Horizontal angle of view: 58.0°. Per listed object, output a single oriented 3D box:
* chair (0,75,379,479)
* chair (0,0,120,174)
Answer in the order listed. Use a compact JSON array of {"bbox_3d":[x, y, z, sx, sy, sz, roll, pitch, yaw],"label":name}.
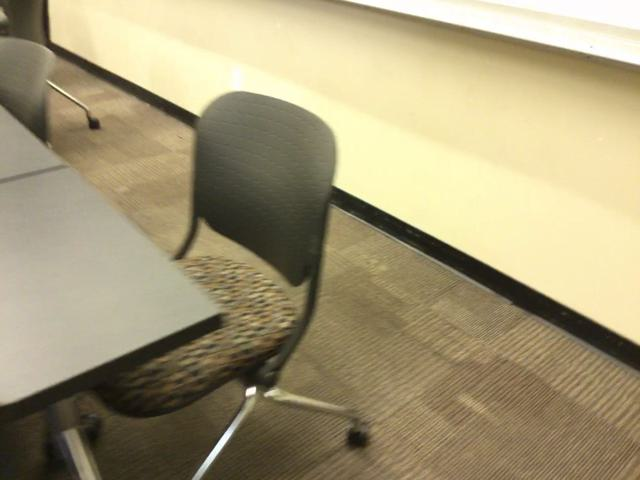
[{"bbox_3d":[-0.300,0.130,1.330,0.570,0.830,0.580,-21,36,-36],"label":"chair"},{"bbox_3d":[-1.500,-0.840,2.830,0.740,0.870,0.580,1,28,-1],"label":"chair"}]
